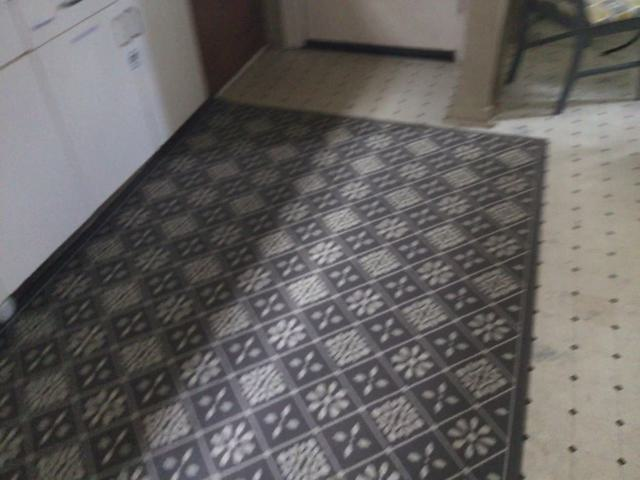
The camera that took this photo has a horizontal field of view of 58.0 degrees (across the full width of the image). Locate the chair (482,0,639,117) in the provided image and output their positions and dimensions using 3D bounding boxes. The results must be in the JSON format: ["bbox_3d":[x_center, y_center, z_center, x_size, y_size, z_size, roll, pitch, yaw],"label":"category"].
[{"bbox_3d":[1.160,-1.100,2.570,0.570,0.840,0.520,-16,42,-12],"label":"chair"}]
